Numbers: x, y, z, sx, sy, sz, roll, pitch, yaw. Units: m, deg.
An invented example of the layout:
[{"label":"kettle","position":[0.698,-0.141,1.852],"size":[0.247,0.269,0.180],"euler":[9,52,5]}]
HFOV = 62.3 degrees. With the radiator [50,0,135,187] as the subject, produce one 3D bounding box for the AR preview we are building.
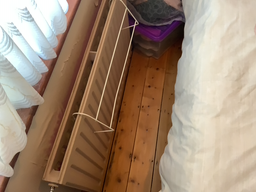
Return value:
[{"label":"radiator","position":[-0.100,-0.050,1.220],"size":[0.060,0.690,1.020],"euler":[7,65,10]}]
